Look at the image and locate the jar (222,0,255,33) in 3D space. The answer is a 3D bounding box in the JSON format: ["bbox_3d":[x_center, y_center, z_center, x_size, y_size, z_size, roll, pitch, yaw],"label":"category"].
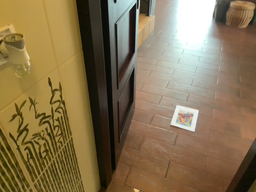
[{"bbox_3d":[2.080,-1.530,3.950,0.470,0.480,0.500,13,39,15],"label":"jar"}]
